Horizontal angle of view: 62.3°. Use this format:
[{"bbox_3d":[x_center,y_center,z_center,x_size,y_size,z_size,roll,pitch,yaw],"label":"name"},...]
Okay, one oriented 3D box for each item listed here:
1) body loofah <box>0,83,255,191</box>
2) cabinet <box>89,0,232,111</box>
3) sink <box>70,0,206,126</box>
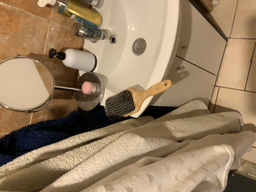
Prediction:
[{"bbox_3d":[0.270,0.170,0.720,0.190,1.400,0.240,20,98,37],"label":"body loofah"},{"bbox_3d":[0.230,-0.190,1.110,0.310,0.750,0.460,19,97,37],"label":"cabinet"},{"bbox_3d":[0.020,-0.210,0.770,0.400,0.130,0.520,20,98,37],"label":"sink"}]
